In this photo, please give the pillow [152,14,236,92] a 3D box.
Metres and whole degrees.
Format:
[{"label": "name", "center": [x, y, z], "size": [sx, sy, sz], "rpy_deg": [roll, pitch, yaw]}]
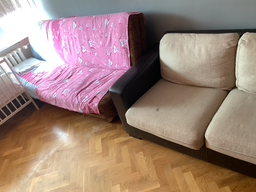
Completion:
[{"label": "pillow", "center": [0.540, -0.330, 1.850], "size": [0.160, 0.480, 0.620], "rpy_deg": [-5, -6, -44]}]
